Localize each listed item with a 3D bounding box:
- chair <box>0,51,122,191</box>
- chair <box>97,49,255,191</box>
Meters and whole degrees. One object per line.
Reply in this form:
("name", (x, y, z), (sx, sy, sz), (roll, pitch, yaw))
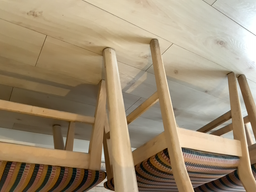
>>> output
("chair", (-0.410, 0.340, 0.900), (0.570, 0.780, 0.540), (15, 142, -28))
("chair", (0.220, 0.360, 0.950), (0.530, 0.830, 0.570), (14, 143, -26))
